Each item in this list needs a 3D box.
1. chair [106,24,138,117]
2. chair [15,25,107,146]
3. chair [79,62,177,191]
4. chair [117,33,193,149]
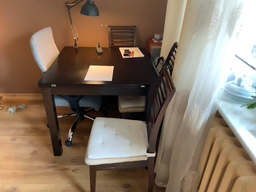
[{"bbox_3d":[-0.080,-0.280,2.420,0.300,0.950,0.450,1,31,-2],"label":"chair"},{"bbox_3d":[-0.540,-0.110,2.080,0.600,0.980,0.650,2,30,-1],"label":"chair"},{"bbox_3d":[-0.020,0.280,1.510,0.500,0.910,0.460,1,31,-2],"label":"chair"},{"bbox_3d":[0.180,-0.030,1.990,0.530,0.980,0.460,0,31,-5],"label":"chair"}]
